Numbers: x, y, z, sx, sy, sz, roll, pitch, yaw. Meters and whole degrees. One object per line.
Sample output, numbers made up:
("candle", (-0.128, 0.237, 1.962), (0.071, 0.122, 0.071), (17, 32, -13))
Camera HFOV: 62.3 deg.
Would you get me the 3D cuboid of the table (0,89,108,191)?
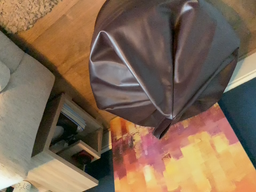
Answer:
("table", (-0.440, 0.340, 1.350), (0.410, 0.470, 0.460), (-30, 126, 21))
